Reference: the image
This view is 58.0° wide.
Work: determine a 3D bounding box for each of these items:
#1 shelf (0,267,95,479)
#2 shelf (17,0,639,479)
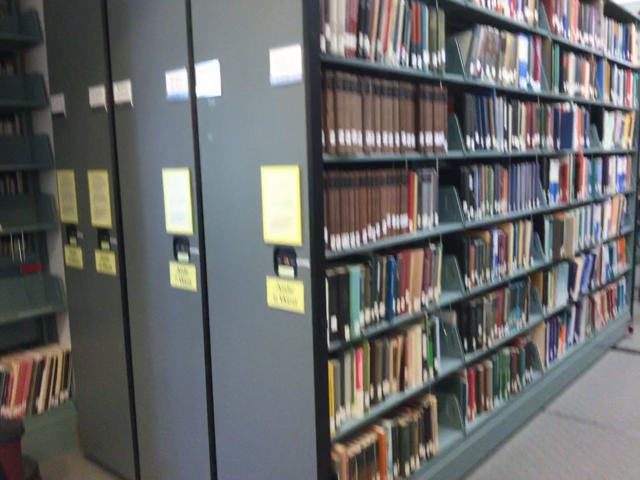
[{"bbox_3d":[-1.770,0.680,2.800,0.630,0.910,1.020,3,9,43],"label":"shelf"},{"bbox_3d":[0.630,-0.280,3.480,1.910,2.580,3.750,3,9,43],"label":"shelf"}]
